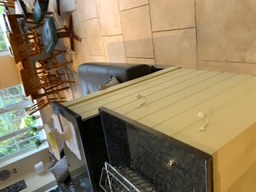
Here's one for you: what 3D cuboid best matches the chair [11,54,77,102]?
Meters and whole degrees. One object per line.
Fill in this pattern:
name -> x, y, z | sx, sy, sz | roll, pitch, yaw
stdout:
chair -> -1.450, -0.350, 3.690 | 0.620, 0.840, 0.520 | 26, 128, 48

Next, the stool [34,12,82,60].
stool -> -1.060, -0.880, 3.160 | 0.600, 0.440, 0.430 | -22, 89, 58

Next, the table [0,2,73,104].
table -> -1.700, -0.770, 3.930 | 0.820, 0.730, 1.590 | 10, 116, 54

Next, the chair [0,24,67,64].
chair -> -1.600, -0.920, 3.610 | 0.620, 0.820, 0.470 | 26, 128, 48
